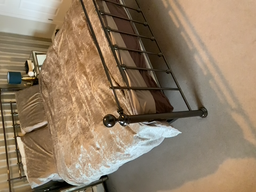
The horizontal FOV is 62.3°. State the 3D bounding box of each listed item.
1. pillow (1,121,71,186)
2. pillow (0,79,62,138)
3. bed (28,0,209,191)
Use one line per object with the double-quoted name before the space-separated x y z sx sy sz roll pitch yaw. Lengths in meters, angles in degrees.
"pillow" -1.140 0.720 2.660 0.640 0.440 0.280 39 134 -6
"pillow" -1.350 0.170 2.920 0.630 0.470 0.280 40 134 -7
"bed" -0.470 -0.010 2.500 2.160 0.650 1.650 -43 59 43
